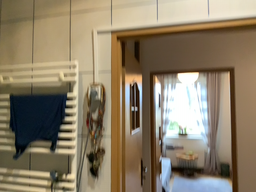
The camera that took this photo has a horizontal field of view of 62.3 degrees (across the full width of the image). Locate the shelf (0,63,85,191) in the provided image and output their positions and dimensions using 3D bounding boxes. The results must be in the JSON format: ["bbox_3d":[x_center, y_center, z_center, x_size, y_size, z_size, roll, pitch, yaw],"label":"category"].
[{"bbox_3d":[-0.580,0.340,1.250,0.660,1.010,0.120,-1,-4,17],"label":"shelf"}]
